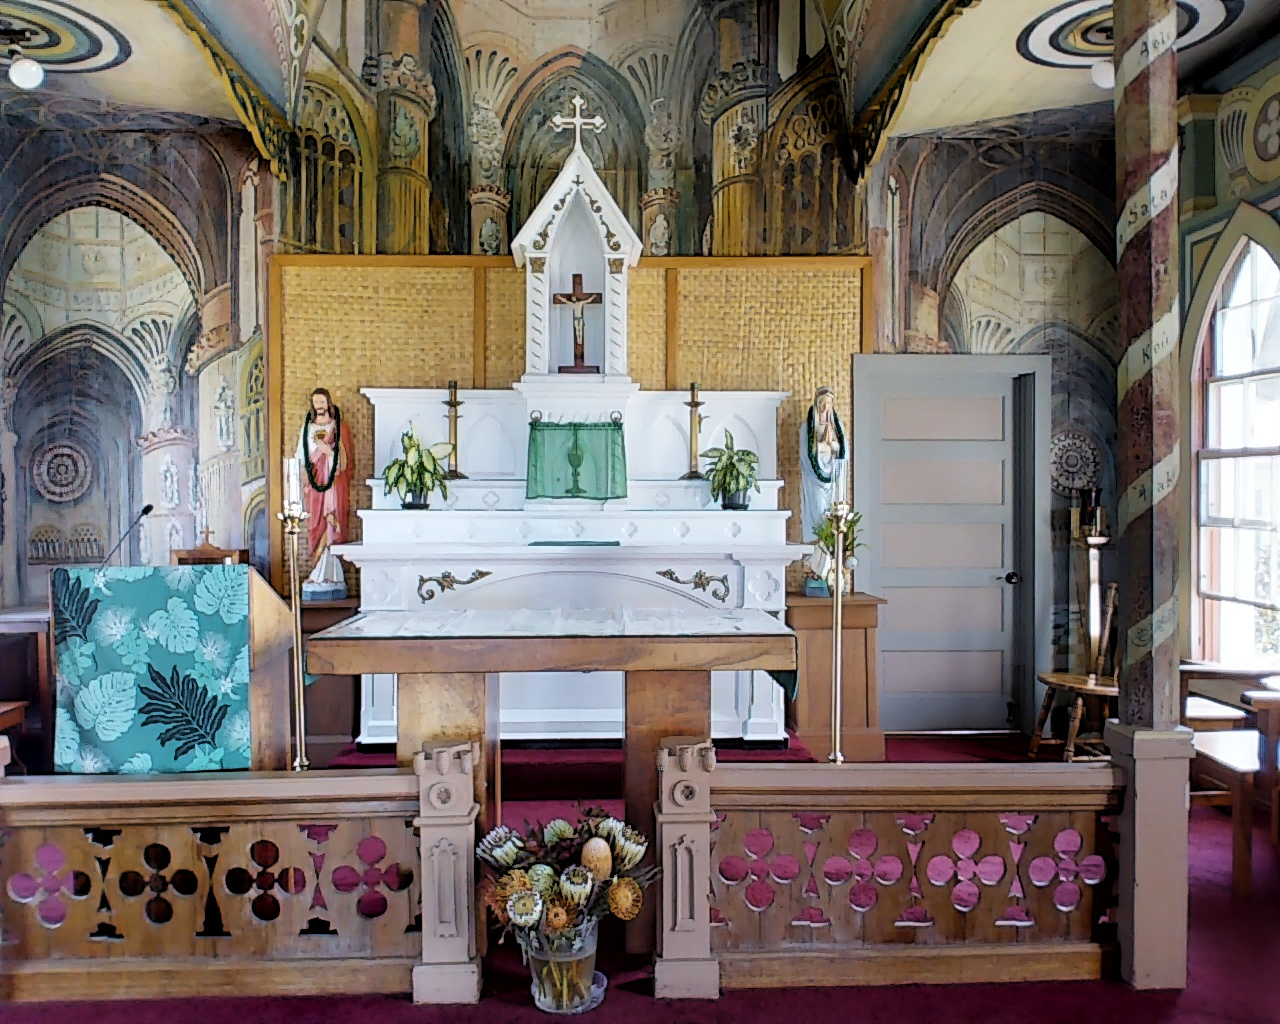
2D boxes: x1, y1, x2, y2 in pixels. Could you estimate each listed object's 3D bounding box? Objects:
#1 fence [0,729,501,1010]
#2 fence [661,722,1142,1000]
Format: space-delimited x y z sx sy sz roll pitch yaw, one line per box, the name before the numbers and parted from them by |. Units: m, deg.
fence | -1.060 0.970 2.970 1.320 0.680 0.220 0 1 -2
fence | 0.710 0.960 3.010 1.290 0.680 0.230 0 1 -2
